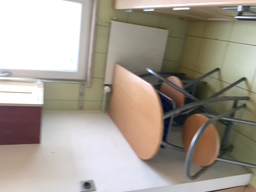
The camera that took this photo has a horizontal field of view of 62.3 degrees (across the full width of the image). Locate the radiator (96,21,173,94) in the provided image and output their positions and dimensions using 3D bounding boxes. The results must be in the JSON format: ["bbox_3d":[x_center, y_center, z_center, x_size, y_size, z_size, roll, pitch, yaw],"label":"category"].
[{"bbox_3d":[0.060,-0.370,2.200,0.130,0.680,0.670,-132,49,-59],"label":"radiator"}]

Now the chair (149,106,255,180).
[{"bbox_3d":[0.570,0.290,1.460,0.310,0.730,0.330,-128,45,-57],"label":"chair"}]

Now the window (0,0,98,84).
[{"bbox_3d":[-0.960,-0.560,1.780,0.120,1.340,0.850,-139,54,-61],"label":"window"}]
